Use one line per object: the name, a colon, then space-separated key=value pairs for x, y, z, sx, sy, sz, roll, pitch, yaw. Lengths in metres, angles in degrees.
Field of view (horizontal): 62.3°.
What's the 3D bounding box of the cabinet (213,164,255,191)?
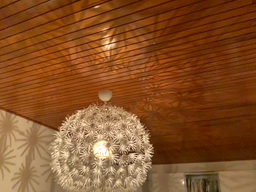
cabinet: x=1.820 y=1.540 z=3.600 sx=0.600 sy=0.650 sz=0.490 roll=-10 pitch=-26 yaw=20
